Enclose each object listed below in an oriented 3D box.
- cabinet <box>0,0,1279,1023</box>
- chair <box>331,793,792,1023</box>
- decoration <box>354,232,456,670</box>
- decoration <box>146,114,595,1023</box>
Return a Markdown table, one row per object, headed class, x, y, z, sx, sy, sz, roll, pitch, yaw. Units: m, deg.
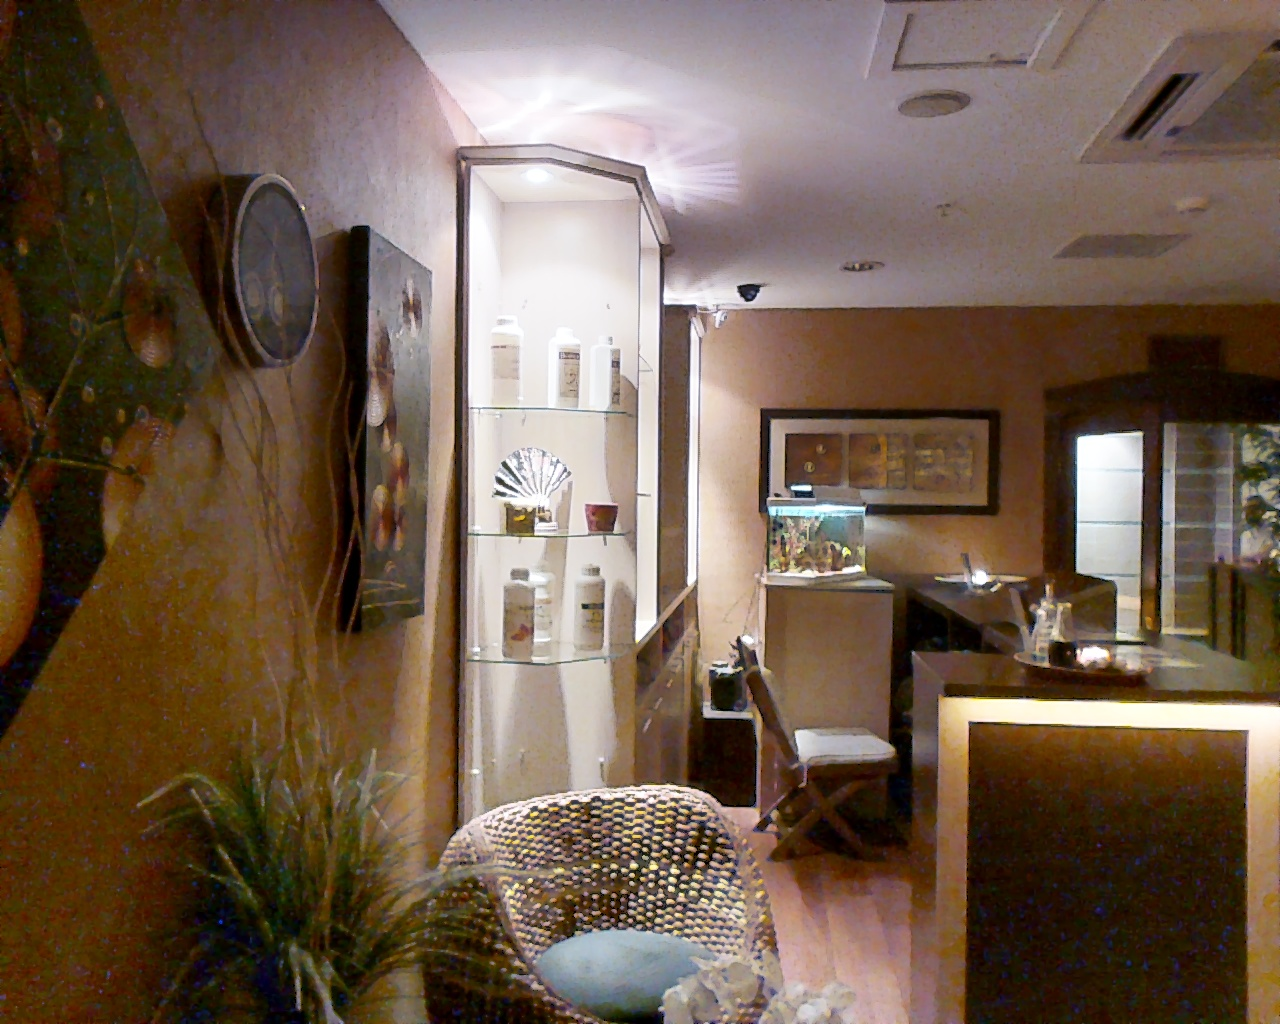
| class | x | y | z | sx | sy | sz | roll | pitch | yaw |
| --- | --- | --- | --- | --- | --- | --- | --- | --- | --- |
| cabinet | 0.430 | 0.290 | 1.140 | 2.559 | 2.621 | 3.540 | 1 | 0 | 7 |
| chair | -0.130 | 1.170 | 2.490 | 0.940 | 0.830 | 0.660 | 1 | 0 | 7 |
| decoration | -0.500 | -0.120 | 2.340 | 0.060 | 0.860 | 0.450 | 1 | 0 | 7 |
| decoration | -0.370 | 0.540 | 1.700 | 0.470 | 2.080 | 0.650 | 1 | 0 | 7 |
